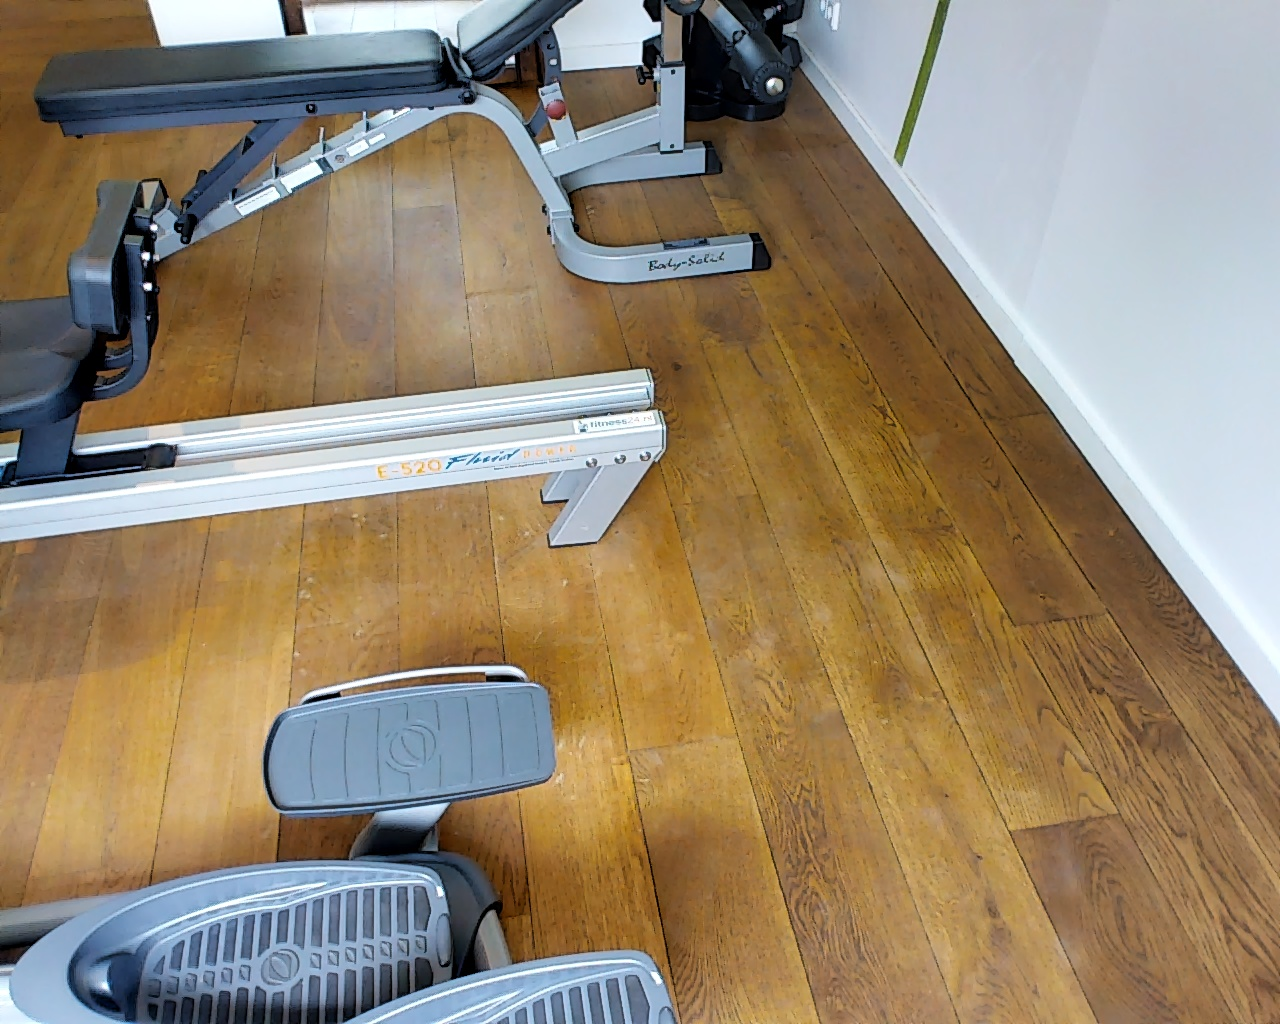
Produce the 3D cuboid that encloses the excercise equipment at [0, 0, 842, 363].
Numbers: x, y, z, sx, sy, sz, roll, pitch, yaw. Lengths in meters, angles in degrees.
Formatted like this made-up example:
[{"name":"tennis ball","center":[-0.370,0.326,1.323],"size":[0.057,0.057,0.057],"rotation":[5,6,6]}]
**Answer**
[{"name":"excercise equipment","center":[-0.550,-1.000,2.610],"size":[1.820,0.760,0.820],"rotation":[-7,43,-7]}]
